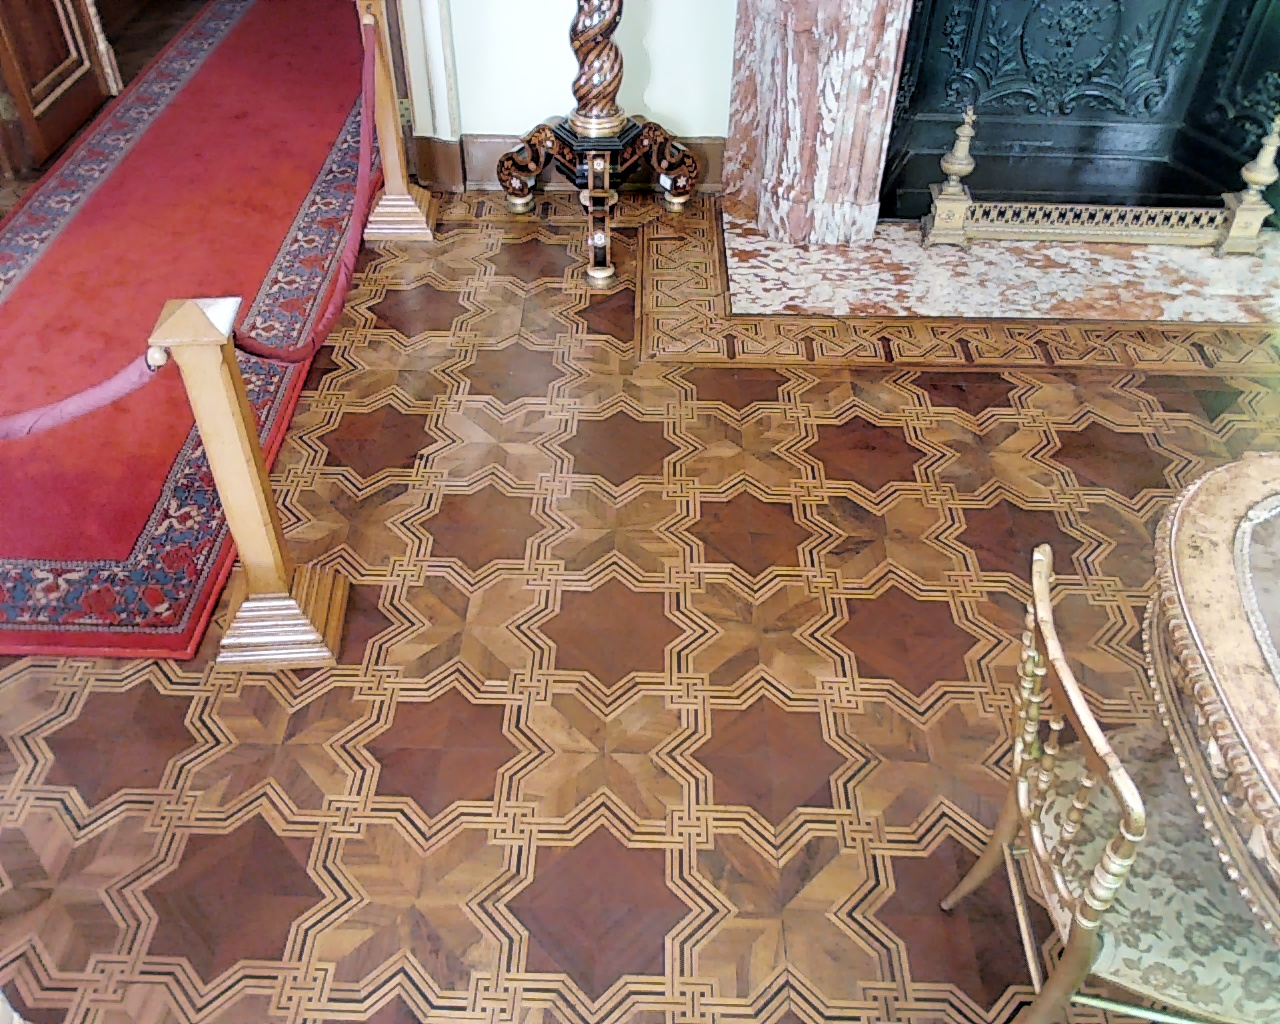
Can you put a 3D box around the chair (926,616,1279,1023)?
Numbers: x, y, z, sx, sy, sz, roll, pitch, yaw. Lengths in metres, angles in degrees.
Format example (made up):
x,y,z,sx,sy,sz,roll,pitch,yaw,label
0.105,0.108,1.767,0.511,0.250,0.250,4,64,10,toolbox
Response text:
x,y,z,sx,sy,sz,roll,pitch,yaw,label
0.750,0.500,1.490,0.510,0.690,0.330,0,42,-1,chair
